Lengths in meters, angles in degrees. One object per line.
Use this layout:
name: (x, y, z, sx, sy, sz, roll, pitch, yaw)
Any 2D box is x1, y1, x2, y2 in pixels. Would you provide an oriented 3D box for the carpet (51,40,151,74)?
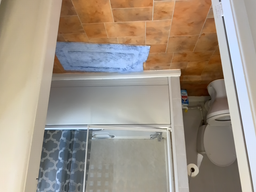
carpet: (-0.230, -0.330, 1.900, 0.790, 0.050, 0.440, 2, 162, -5)
